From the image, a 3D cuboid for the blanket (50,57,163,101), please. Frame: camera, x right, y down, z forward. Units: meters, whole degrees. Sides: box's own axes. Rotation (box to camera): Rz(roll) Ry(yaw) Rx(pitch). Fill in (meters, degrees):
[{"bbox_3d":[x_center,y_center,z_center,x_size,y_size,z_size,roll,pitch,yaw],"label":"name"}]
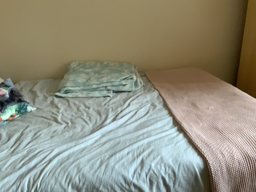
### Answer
[{"bbox_3d":[-0.170,-0.160,1.690,0.770,0.130,0.500,-6,23,-8],"label":"blanket"}]
